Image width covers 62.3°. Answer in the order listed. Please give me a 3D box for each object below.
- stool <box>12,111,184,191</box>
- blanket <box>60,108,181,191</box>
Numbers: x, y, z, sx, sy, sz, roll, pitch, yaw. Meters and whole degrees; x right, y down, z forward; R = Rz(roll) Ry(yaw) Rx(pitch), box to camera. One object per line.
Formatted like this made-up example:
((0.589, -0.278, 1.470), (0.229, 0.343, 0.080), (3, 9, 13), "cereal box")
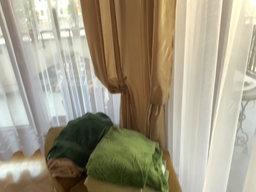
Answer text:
((-0.210, 0.680, 1.730), (1.080, 0.490, 1.210), (-4, 26, -2), "stool")
((-0.010, 0.400, 1.500), (0.630, 0.310, 0.740), (0, 26, 5), "blanket")
